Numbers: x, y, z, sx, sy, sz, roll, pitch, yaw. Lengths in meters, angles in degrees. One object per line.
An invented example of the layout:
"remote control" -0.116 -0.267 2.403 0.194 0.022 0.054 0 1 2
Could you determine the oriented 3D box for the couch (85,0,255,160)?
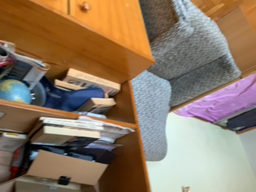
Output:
"couch" 0.280 -0.140 1.490 0.770 0.940 0.810 18 141 -42
